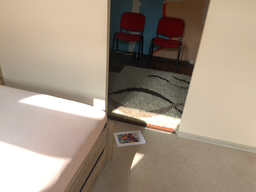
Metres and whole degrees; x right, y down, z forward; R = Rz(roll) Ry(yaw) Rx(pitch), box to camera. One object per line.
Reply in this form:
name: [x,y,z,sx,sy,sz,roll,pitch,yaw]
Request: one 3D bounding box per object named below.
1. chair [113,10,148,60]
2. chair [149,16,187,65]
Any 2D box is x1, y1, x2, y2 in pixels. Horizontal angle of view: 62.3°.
chair: [0.030,-1.230,4.310,0.610,0.880,0.120,13,30,13]
chair: [0.760,-1.070,4.120,0.590,0.820,0.150,13,30,13]
